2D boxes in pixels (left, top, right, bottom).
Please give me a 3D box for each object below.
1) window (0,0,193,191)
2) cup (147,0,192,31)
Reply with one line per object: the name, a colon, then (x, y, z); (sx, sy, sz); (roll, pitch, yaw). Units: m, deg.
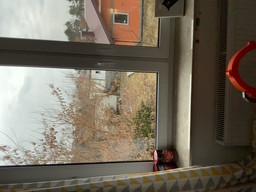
window: (-0.290, -0.230, 1.330); (0.240, 1.370, 1.760); (180, 91, -79)
cup: (0.300, -0.640, 1.580); (0.240, 0.260, 0.230); (-165, 76, -79)
